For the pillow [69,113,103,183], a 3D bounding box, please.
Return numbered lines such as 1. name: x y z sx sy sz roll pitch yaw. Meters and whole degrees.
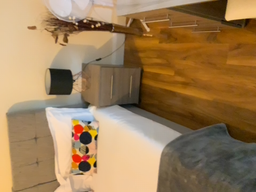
1. pillow: -0.430 0.520 2.180 0.190 0.300 0.600 11 105 25
